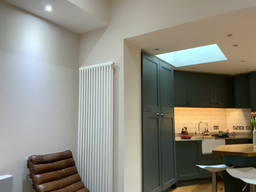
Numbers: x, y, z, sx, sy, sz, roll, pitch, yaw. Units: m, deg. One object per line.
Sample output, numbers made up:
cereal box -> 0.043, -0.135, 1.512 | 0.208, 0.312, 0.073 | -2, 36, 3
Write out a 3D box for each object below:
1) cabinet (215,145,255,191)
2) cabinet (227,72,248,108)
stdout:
cabinet -> 1.520, 1.130, 2.870 | 0.570, 0.860, 0.280 | 3, -6, -22
cabinet -> 2.590, -0.120, 5.010 | 0.360, 0.800, 0.310 | -4, -7, 37
